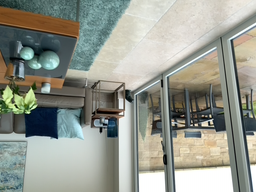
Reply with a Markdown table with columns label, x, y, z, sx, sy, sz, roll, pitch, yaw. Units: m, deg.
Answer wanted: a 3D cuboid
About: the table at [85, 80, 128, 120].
| label | x | y | z | sx | sy | sz | roll | pitch | yaw |
| --- | --- | --- | --- | --- | --- | --- | --- | --- | --- |
| table | -0.380 | 0.100 | 3.480 | 0.510 | 0.490 | 0.760 | 5 | 166 | -20 |
